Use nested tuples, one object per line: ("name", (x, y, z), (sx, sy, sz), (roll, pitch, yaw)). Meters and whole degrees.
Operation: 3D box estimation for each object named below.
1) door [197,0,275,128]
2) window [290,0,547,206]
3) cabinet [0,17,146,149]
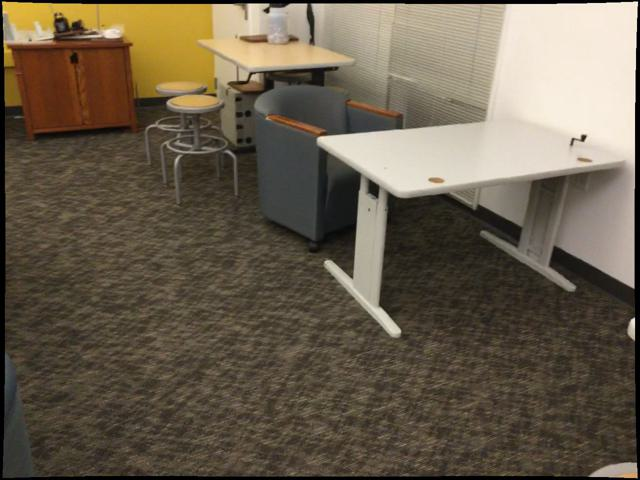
("door", (-0.759, -2.282, 4.870), (0.180, 2.342, 1.400), (-12, 30, -25))
("window", (0.450, -1.441, 3.870), (0.360, 1.661, 2.300), (-12, 30, -25))
("cabinet", (-2.078, -1.351, 4.850), (0.949, 0.861, 0.810), (-12, 30, -25))
